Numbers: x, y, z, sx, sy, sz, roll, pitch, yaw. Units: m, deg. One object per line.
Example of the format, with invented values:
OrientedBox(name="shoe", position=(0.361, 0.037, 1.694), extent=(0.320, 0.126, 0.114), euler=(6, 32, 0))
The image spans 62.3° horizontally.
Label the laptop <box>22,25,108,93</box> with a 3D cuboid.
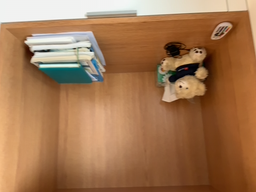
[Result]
OrientedBox(name="laptop", position=(-0.230, -0.130, 0.920), extent=(0.240, 0.140, 0.420), euler=(-2, 169, 0))
